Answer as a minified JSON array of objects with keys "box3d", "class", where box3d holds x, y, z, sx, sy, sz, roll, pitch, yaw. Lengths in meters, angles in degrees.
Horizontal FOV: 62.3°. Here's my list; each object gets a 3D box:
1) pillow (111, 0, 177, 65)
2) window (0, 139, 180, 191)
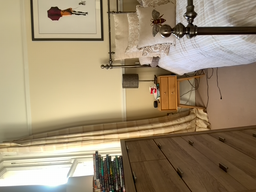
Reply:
[{"box3d":[0.100,-0.750,2.430,1.160,0.560,0.670,-143,51,-84],"class":"pillow"},{"box3d":[-0.620,0.880,2.380,1.200,2.070,0.360,-132,41,-83],"class":"window"}]
